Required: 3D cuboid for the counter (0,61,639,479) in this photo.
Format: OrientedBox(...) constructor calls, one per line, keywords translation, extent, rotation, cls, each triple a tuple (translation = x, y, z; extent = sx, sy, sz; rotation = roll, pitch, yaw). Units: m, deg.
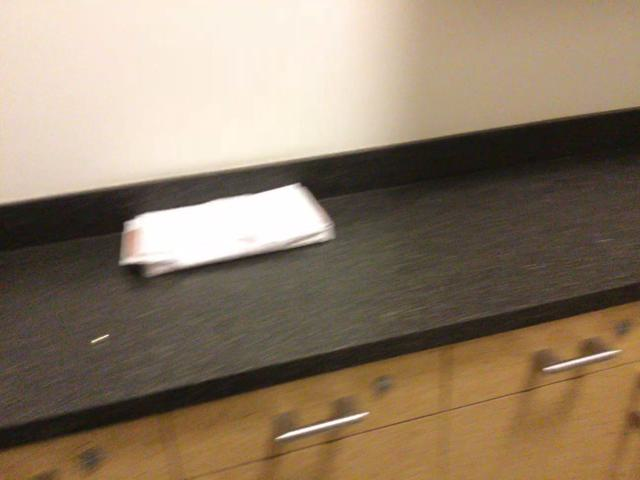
OrientedBox(translation=(0.210, -0.050, 1.130), extent=(3.830, 0.430, 0.660), rotation=(-8, 23, -13), cls="counter")
